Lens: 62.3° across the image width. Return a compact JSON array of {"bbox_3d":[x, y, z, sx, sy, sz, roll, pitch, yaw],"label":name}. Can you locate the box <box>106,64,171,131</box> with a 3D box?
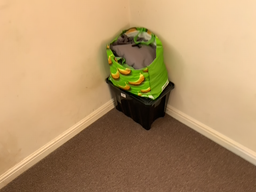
[{"bbox_3d":[0.080,0.000,1.720,0.410,0.300,0.280,31,52,33],"label":"box"}]
